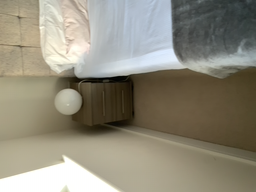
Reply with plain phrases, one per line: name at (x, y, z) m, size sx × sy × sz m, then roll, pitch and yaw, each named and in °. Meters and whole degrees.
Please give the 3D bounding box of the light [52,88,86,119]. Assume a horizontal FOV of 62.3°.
light at (-0.560, 0.060, 2.000) m, size 0.280 × 0.210 × 0.260 m, roll 2°, pitch 96°, yaw 52°

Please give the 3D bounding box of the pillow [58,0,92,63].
pillow at (-0.460, -0.640, 1.860) m, size 0.140 × 0.260 × 0.660 m, roll -1°, pitch 91°, yaw 28°
